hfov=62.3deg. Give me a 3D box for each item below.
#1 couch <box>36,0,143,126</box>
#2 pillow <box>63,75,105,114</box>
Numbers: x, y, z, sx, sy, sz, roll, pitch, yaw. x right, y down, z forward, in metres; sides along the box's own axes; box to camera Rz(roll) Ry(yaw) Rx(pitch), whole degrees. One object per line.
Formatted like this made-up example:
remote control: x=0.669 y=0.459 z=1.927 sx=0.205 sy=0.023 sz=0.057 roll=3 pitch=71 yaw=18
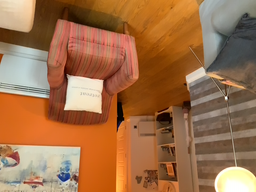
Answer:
couch: x=-0.440 y=-0.230 z=2.180 sx=0.780 sy=0.870 sz=0.960 roll=7 pitch=160 yaw=-25
pillow: x=-0.450 y=-0.010 z=2.170 sx=0.380 sy=0.330 sz=0.150 roll=8 pitch=145 yaw=-21
